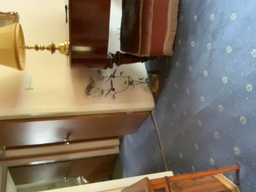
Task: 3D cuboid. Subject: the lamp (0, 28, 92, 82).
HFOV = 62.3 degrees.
[{"bbox_3d":[-0.830,-0.410,2.170,0.360,0.850,0.380,115,149,-59],"label":"lamp"}]
